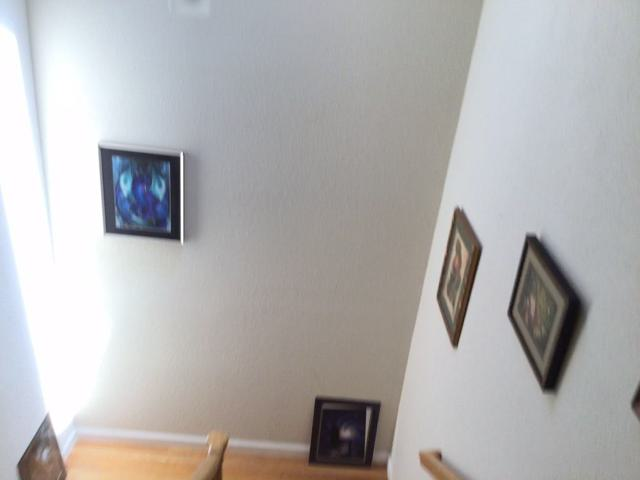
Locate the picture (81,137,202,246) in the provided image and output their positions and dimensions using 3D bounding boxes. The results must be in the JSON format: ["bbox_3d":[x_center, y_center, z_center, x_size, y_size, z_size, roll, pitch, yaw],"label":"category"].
[{"bbox_3d":[-0.900,-0.240,2.970,0.500,0.560,0.060,-2,29,1],"label":"picture"}]

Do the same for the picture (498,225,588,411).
[{"bbox_3d":[0.620,0.210,1.660,0.070,0.350,0.410,-3,29,1],"label":"picture"}]

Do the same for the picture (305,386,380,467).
[{"bbox_3d":[0.150,1.190,3.670,0.450,0.550,0.090,4,30,11],"label":"picture"}]
